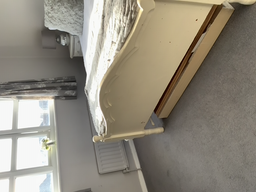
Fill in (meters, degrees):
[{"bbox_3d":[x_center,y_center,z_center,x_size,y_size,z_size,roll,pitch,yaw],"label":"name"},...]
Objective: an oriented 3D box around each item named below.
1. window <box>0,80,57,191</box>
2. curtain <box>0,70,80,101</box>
[{"bbox_3d":[-1.530,0.550,2.750,0.220,1.060,1.730,114,147,-50],"label":"window"},{"bbox_3d":[-1.470,-0.160,3.100,0.250,1.440,0.340,117,144,-53],"label":"curtain"}]
